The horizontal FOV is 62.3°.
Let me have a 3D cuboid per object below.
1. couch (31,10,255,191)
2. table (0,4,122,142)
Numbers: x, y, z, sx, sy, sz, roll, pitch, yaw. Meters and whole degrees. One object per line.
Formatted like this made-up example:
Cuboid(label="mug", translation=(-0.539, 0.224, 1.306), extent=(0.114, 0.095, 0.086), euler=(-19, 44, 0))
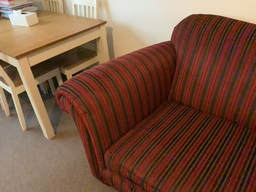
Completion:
Cuboid(label="couch", translation=(0.460, 0.180, 1.090), extent=(1.400, 0.860, 0.970), euler=(21, 42, 32))
Cuboid(label="table", translation=(-0.900, -0.370, 2.120), extent=(1.360, 0.740, 0.900), euler=(23, 45, 34))
